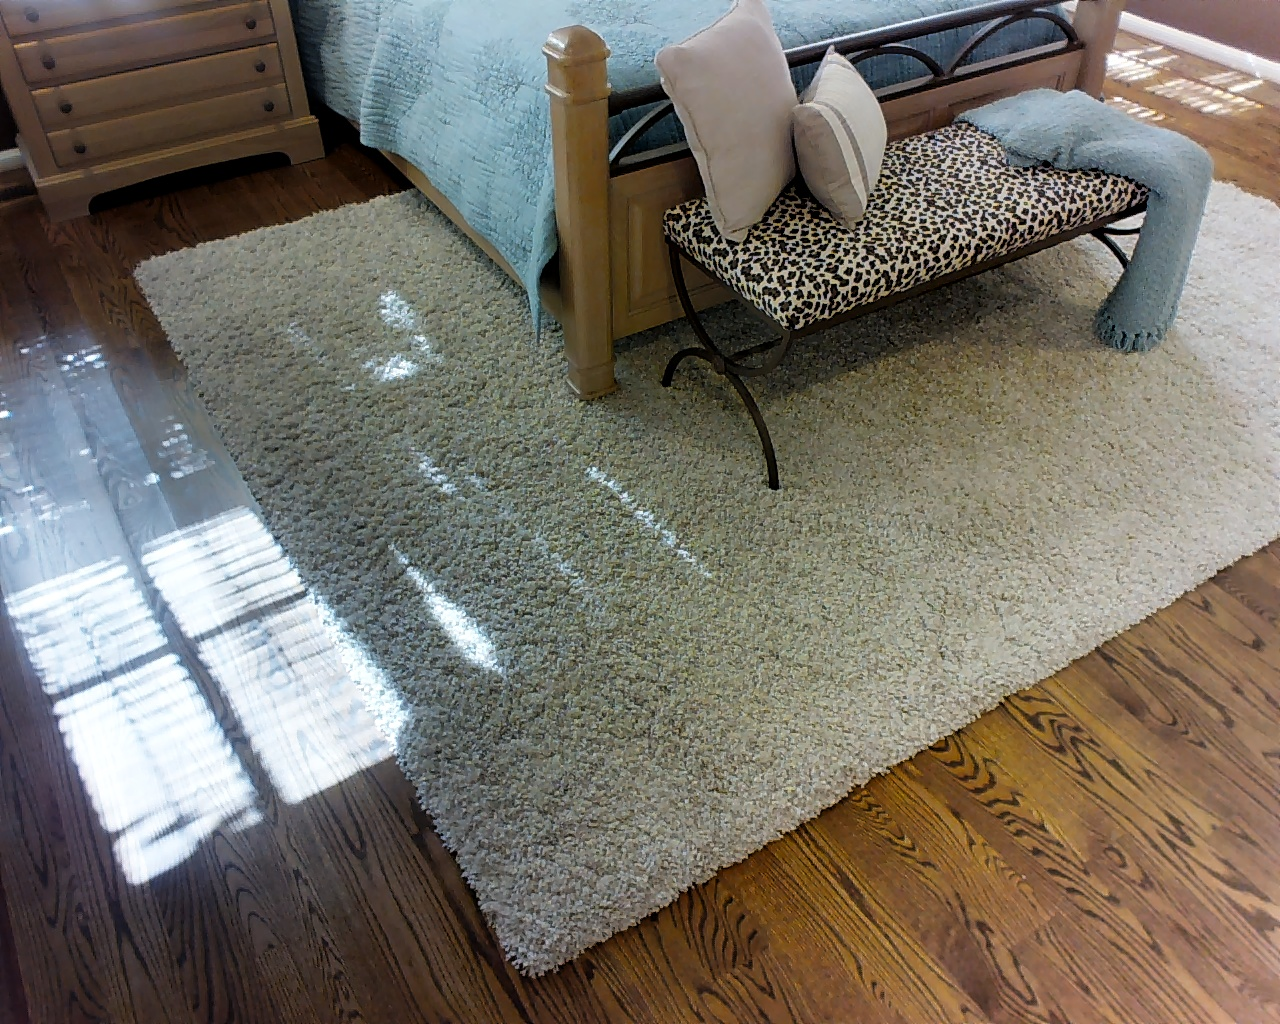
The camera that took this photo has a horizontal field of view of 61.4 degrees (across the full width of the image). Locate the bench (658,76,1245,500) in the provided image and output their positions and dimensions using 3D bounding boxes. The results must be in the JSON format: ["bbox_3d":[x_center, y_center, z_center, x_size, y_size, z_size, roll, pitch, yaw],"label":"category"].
[{"bbox_3d":[0.720,-0.580,2.580,1.280,0.510,0.500,-22,47,-22],"label":"bench"}]

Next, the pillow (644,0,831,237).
[{"bbox_3d":[0.220,-0.830,2.240,0.200,0.390,0.430,5,31,27],"label":"pillow"}]

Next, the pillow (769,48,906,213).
[{"bbox_3d":[0.440,-0.820,2.330,0.170,0.270,0.420,-12,14,23],"label":"pillow"}]
